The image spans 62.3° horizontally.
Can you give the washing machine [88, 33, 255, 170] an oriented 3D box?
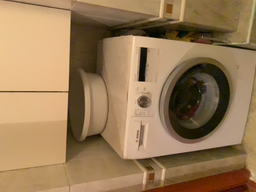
[{"bbox_3d":[0.250,-0.030,1.390,0.670,0.830,0.610,-153,65,-61],"label":"washing machine"}]
